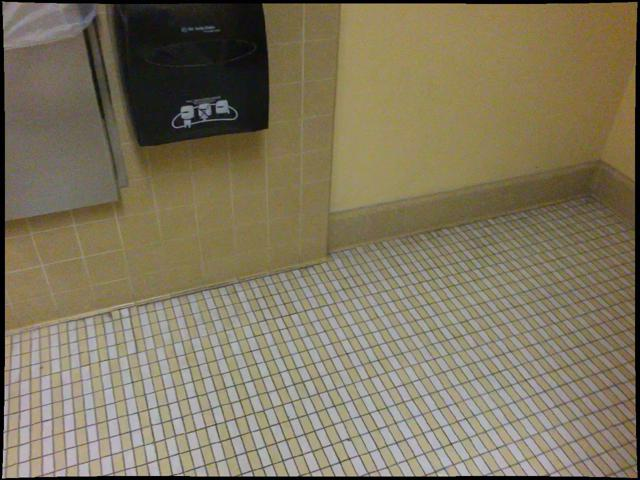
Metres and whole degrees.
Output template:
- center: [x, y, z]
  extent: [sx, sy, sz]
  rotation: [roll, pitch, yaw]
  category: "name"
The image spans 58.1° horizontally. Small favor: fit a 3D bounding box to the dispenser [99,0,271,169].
- center: [-0.309, -0.441, 1.310]
  extent: [0.319, 0.431, 0.270]
  rotation: [-12, 40, -18]
  category: "dispenser"
